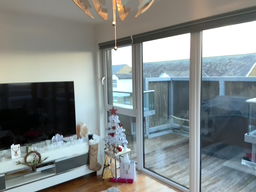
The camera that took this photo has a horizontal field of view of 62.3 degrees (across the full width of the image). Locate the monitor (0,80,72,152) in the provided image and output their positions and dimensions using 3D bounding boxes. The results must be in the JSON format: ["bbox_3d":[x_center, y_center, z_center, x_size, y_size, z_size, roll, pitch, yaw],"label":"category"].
[{"bbox_3d":[-1.420,0.250,2.810,1.380,0.870,0.040,-6,7,-38],"label":"monitor"}]

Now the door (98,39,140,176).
[{"bbox_3d":[-0.180,0.180,3.690,0.060,2.140,1.030,-6,7,-39],"label":"door"}]
